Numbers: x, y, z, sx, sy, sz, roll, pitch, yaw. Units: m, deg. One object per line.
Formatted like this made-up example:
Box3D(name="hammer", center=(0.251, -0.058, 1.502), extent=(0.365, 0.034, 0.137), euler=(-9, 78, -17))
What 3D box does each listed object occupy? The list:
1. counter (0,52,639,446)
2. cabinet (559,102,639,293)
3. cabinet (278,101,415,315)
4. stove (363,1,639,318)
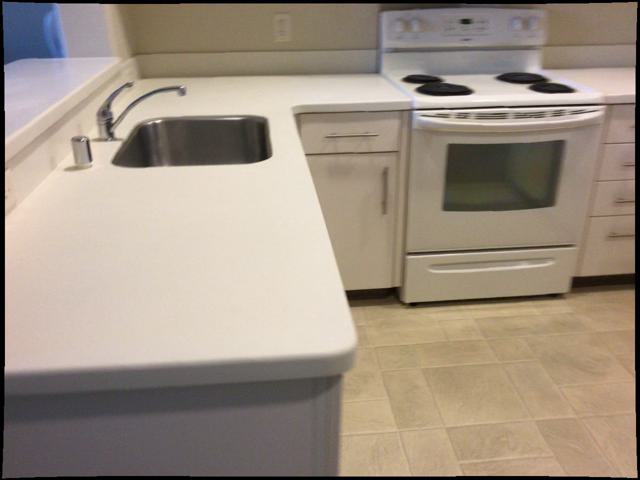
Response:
Box3D(name="counter", center=(0.748, -0.341, 1.800), extent=(3.042, 0.140, 2.181), euler=(-3, 26, -5))
Box3D(name="cabinet", center=(1.386, -0.170, 2.520), extent=(0.519, 0.852, 0.080), euler=(-3, 26, -5))
Box3D(name="cabinet", center=(0.100, -0.110, 2.390), extent=(0.509, 0.892, 0.110), euler=(-3, 26, -5))
Box3D(name="stove", center=(0.718, -0.391, 2.600), extent=(0.898, 1.223, 0.720), euler=(-3, 26, -5))
